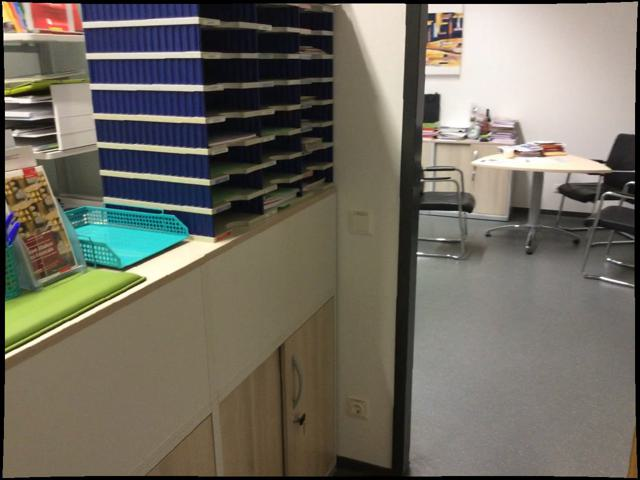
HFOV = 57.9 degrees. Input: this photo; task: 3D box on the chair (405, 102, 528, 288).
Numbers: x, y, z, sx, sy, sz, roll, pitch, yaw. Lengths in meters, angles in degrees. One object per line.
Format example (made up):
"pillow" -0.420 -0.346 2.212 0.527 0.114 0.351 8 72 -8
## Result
"chair" 1.459 -0.521 5.710 0.879 1.561 1.190 6 19 26
